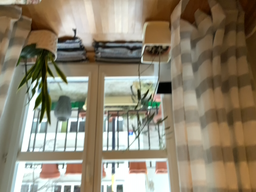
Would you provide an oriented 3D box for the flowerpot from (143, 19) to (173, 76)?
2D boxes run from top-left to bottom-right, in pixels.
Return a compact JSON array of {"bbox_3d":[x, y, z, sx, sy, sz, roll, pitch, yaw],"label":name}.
[{"bbox_3d":[0.220,-0.370,1.690,0.180,0.230,0.420,-1,155,1],"label":"flowerpot"}]
